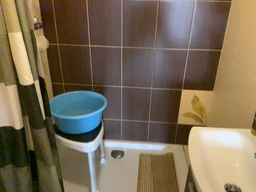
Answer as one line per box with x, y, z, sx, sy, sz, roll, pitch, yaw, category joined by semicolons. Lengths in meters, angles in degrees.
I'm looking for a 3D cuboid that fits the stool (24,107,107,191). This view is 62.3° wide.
-0.410;0.420;1.580;0.430;0.510;0.430;3;26;2;stool

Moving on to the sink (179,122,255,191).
0.430;0.310;0.810;0.380;0.130;0.520;3;26;3;sink
